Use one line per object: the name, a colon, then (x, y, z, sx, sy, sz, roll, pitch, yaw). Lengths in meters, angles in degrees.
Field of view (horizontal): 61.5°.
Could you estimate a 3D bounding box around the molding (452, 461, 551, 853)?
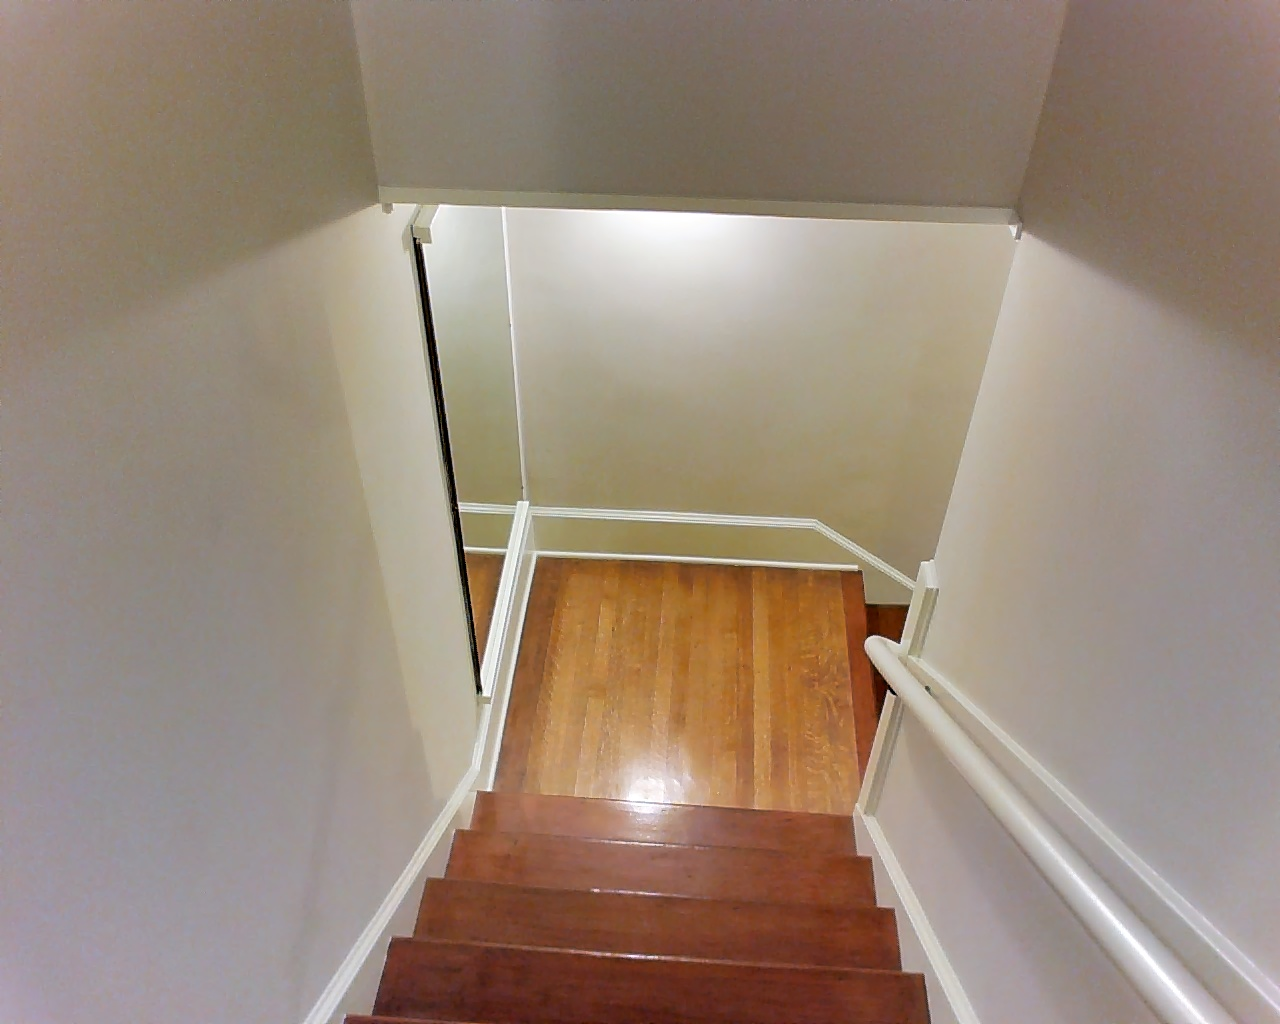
molding: (-0.440, 0.430, 3.640, 0.090, 0.480, 1.320, 3, 42, 2)
